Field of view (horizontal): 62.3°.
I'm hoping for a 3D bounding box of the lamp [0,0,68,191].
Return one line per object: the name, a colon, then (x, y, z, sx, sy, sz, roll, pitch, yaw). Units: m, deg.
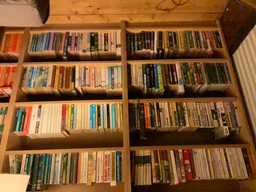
lamp: (-0.600, -0.110, 0.990, 0.430, 1.520, 0.440, 0, 155, -4)
